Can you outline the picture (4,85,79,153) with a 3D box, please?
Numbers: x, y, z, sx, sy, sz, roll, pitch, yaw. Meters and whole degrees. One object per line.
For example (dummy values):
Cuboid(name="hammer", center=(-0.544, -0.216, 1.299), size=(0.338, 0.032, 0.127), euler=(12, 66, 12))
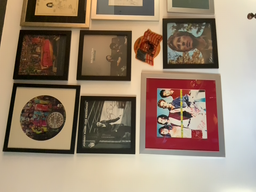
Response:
Cuboid(name="picture", center=(-0.540, 0.140, 1.340), size=(0.030, 0.430, 0.420), euler=(90, 180, -81))
